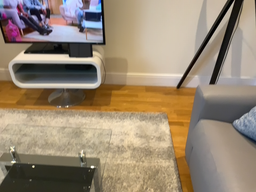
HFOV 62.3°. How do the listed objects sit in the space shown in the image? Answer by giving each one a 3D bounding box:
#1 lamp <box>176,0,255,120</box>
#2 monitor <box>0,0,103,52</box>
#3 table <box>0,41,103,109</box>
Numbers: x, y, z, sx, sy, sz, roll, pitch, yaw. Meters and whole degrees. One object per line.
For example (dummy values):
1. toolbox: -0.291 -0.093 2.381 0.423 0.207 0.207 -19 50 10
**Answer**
1. lamp: 0.870 -0.570 1.850 0.630 1.560 0.460 4 32 3
2. monitor: -0.680 -0.670 1.830 0.900 0.570 0.040 1 32 0
3. table: -0.720 -0.220 2.130 0.850 0.520 0.410 2 32 2
